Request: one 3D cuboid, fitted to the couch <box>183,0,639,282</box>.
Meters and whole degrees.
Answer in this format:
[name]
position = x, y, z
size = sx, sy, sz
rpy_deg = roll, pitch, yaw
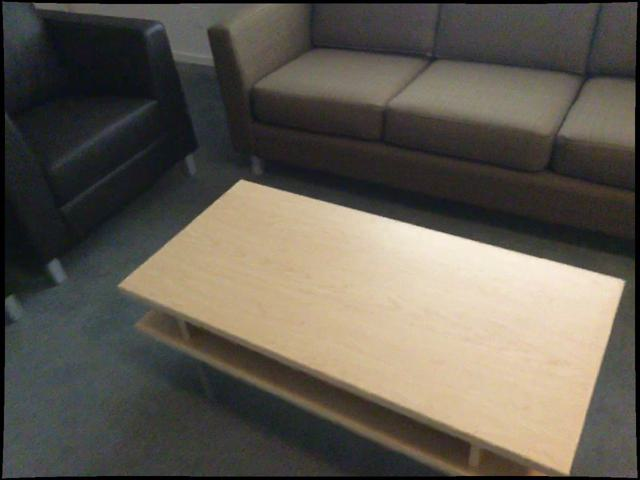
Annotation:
[couch]
position = 0.618, -0.592, 2.100
size = 2.016, 0.831, 0.890
rpy_deg = 15, 39, 28
